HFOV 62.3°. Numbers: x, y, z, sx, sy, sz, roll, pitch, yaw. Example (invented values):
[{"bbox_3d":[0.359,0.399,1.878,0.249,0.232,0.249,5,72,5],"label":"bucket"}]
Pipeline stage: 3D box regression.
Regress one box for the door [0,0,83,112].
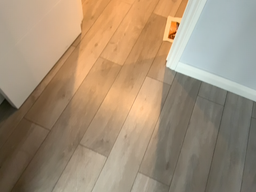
[{"bbox_3d":[-0.430,-0.720,0.610,0.020,2.070,0.810,22,61,6],"label":"door"}]
